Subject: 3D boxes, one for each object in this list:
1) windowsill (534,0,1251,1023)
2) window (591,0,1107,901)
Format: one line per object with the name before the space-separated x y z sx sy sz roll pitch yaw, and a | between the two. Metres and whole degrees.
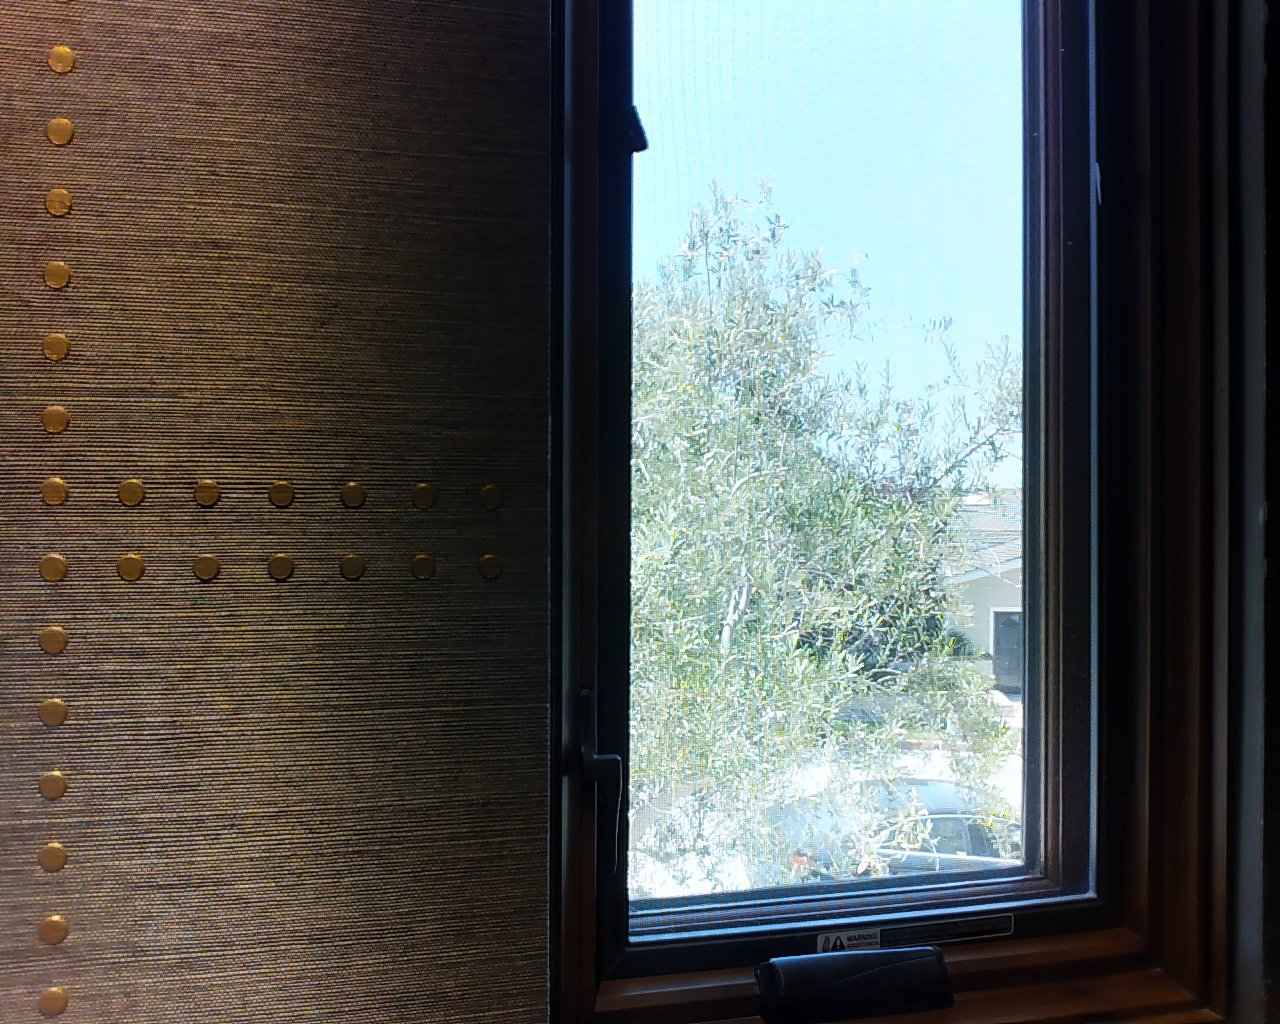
windowsill | 0.150 -0.220 0.650 0.400 1.040 0.130 1 0 -14
window | 0.130 -0.210 0.670 0.300 0.850 0.090 1 0 -14
